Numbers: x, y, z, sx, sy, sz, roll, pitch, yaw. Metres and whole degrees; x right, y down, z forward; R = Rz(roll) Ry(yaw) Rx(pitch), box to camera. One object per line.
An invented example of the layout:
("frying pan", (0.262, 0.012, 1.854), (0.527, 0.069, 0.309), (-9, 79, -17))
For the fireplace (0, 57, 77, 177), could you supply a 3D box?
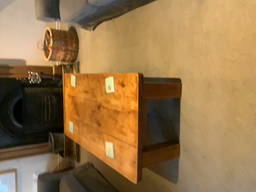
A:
("fireplace", (-1.350, 0.210, 2.820), (0.670, 1.150, 1.340), (7, 98, 55))
